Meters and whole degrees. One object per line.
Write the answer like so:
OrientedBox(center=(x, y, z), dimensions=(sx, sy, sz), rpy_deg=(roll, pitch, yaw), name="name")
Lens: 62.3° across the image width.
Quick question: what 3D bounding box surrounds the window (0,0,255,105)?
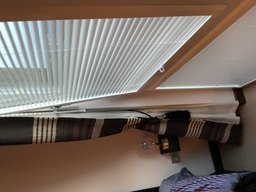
OrientedBox(center=(0.080, -0.160, 1.010), dimensions=(1.120, 2.160, 0.050), rpy_deg=(135, 131, -65), name="window")
